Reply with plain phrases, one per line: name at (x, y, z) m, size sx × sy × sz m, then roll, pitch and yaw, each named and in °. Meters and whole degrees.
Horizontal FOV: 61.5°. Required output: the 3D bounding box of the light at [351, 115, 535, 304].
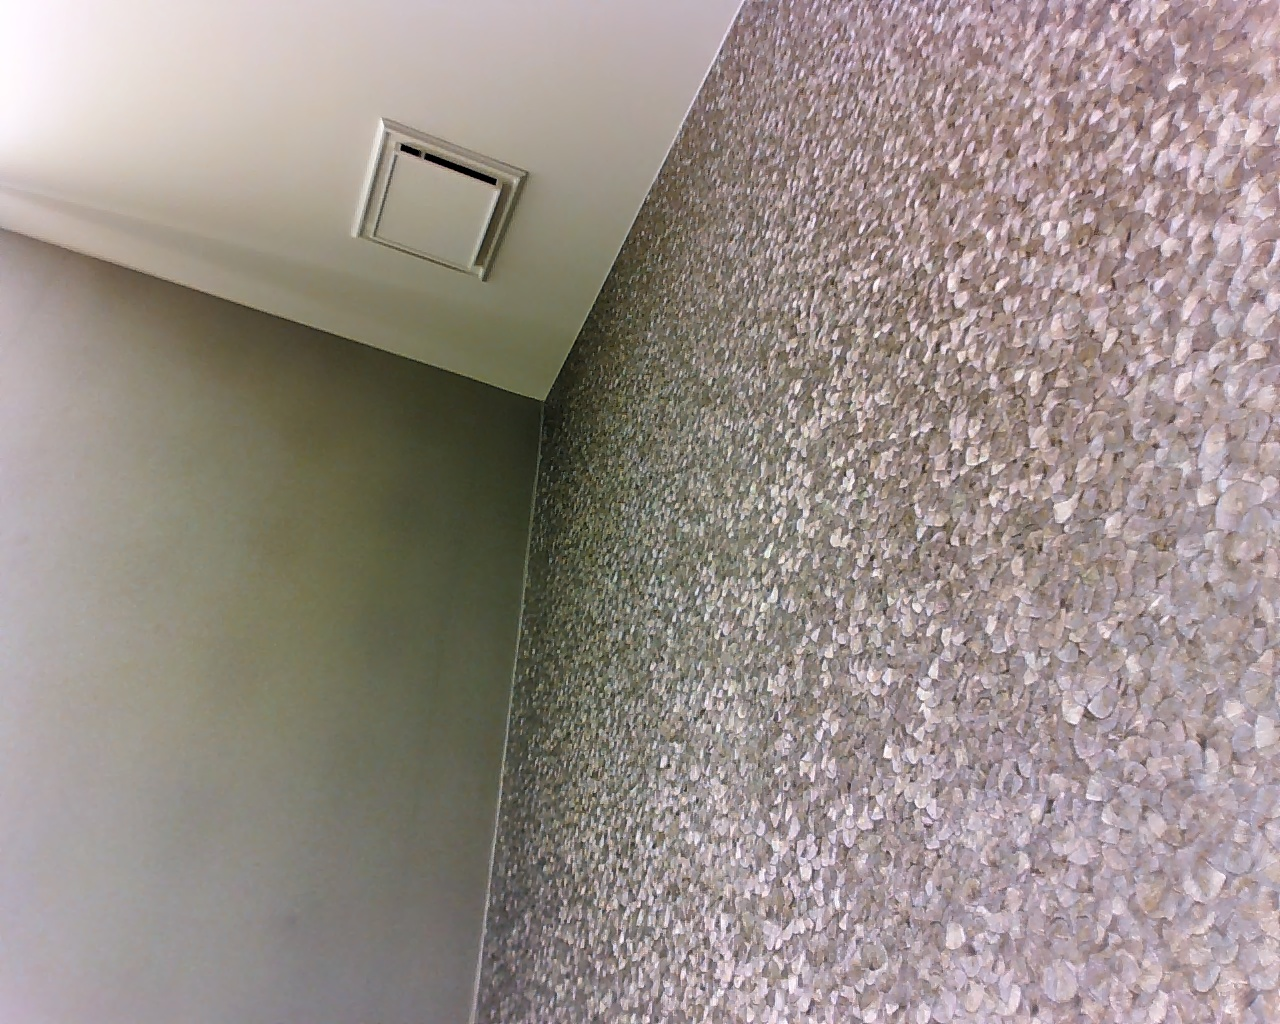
light at (-0.310, -0.460, 1.670) m, size 0.220 × 0.030 × 0.250 m, roll 17°, pitch -43°, yaw -17°
